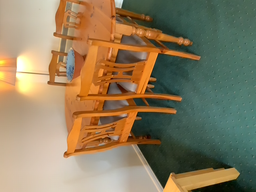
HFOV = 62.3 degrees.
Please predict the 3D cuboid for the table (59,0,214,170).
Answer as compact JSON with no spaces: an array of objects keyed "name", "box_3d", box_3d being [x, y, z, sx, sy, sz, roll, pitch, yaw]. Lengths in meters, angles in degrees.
[{"name":"table","box_3d":[-0.100,-0.210,1.980,0.940,0.740,1.390,54,134,47]}]
